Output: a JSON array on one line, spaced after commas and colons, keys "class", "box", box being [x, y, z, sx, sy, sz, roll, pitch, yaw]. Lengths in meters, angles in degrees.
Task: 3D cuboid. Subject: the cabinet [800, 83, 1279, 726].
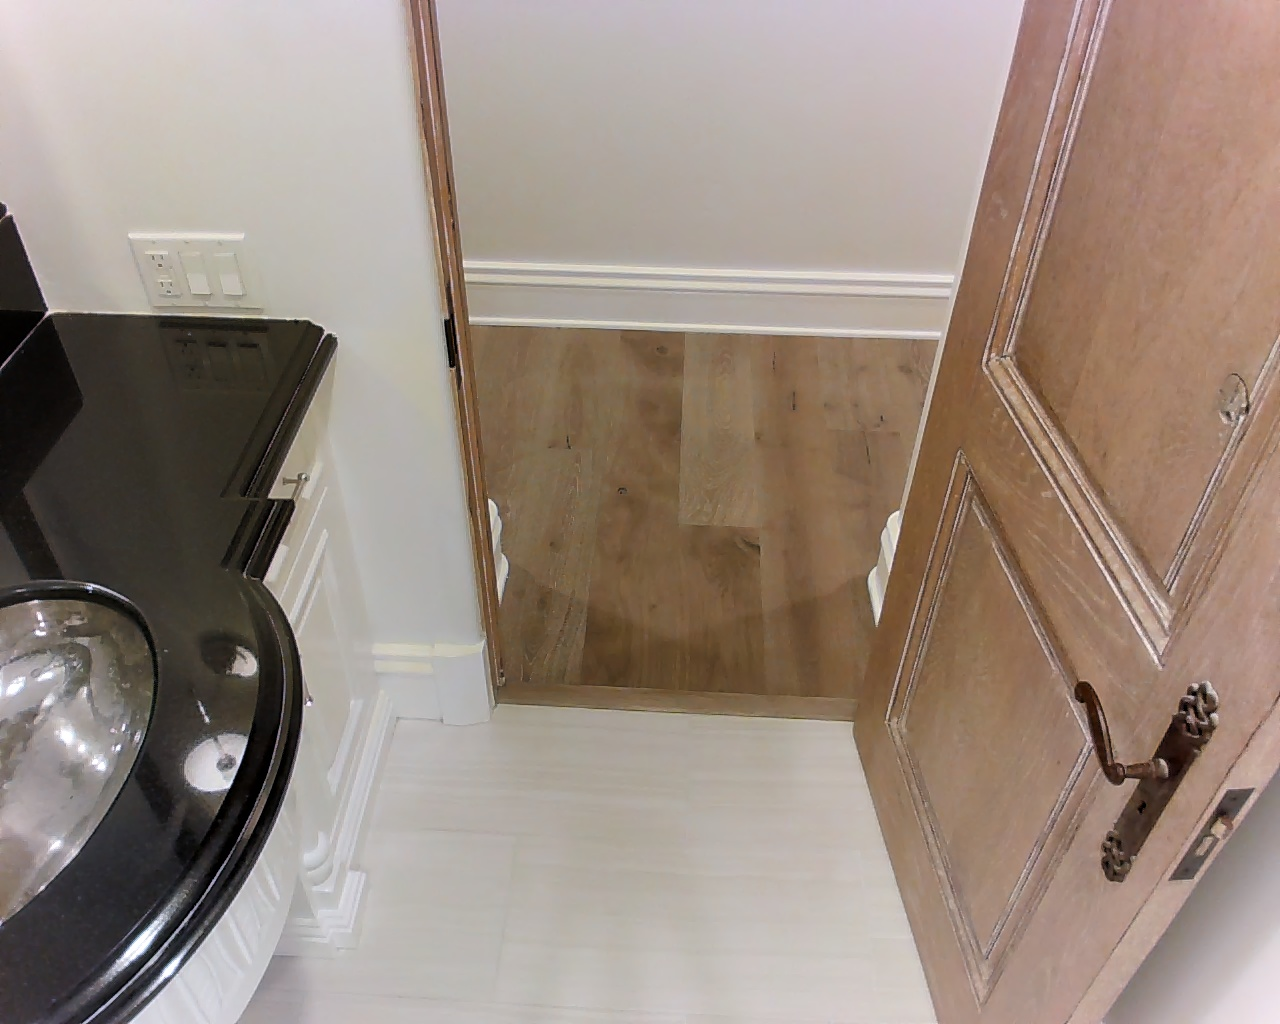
[{"class": "cabinet", "box": [0.830, -0.350, 2.740, 0.670, 0.910, 1.470, 3, 42, 2]}]

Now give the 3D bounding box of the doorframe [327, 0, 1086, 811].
[{"class": "doorframe", "box": [0.070, -0.380, 1.570, 0.870, 2.500, 0.220, 2, 42, 1]}]
